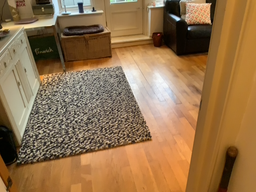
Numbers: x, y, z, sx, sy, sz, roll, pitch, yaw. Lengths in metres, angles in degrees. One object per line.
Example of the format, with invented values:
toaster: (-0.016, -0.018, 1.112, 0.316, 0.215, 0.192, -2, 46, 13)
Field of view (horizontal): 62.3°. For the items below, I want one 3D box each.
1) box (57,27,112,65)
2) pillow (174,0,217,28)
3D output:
box: (-0.770, -0.920, 3.840, 0.850, 0.460, 0.520, -8, 32, -8)
pillow: (1.180, -1.460, 3.760, 0.560, 0.470, 0.190, -6, 71, -8)
